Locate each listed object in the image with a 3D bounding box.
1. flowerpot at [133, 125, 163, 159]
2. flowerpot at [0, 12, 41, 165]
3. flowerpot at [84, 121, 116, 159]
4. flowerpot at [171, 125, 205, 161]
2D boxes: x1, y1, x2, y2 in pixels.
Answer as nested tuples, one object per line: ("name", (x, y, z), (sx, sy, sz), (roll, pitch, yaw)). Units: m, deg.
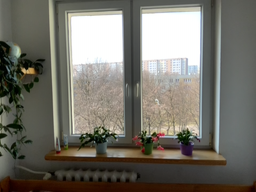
("flowerpot", (0.190, 0.420, 1.990), (0.260, 0.250, 0.260), (0, 4, 5))
("flowerpot", (-0.980, -0.050, 1.430), (0.250, 1.020, 1.030), (0, 4, 5))
("flowerpot", (-0.250, 0.400, 1.970), (0.240, 0.290, 0.240), (0, 4, 6))
("flowerpot", (0.550, 0.430, 1.980), (0.250, 0.260, 0.280), (0, 4, 4))
